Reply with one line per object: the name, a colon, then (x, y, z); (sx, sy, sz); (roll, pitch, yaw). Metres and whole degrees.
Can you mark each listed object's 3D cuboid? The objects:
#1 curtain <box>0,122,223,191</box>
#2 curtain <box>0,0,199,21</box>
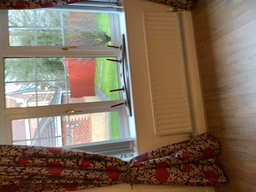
curtain: (-0.170, 0.680, 1.860); (0.180, 2.170, 0.690); (160, 106, -73)
curtain: (-0.360, -1.050, 2.020); (0.230, 2.230, 0.510); (-174, 81, -73)
